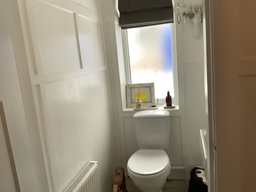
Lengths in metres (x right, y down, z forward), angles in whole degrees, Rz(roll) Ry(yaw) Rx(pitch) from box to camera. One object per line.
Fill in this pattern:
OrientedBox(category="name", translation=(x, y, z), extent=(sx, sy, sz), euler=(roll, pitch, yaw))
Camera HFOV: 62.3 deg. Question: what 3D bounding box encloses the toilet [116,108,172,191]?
OrientedBox(category="toilet", translation=(0.190, 0.570, 1.940), extent=(0.360, 0.780, 0.650), euler=(-2, 10, 14))
